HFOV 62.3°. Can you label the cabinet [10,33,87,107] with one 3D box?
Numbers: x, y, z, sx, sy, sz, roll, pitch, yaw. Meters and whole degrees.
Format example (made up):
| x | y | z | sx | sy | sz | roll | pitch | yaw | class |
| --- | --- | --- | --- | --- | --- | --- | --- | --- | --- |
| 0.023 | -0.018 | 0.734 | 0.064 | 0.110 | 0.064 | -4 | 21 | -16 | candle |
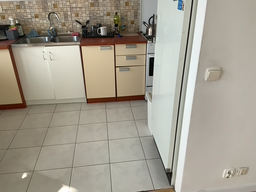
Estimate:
| x | y | z | sx | sy | sz | roll | pitch | yaw | class |
| --- | --- | --- | --- | --- | --- | --- | --- | --- | --- |
| -1.000 | -0.370 | 2.900 | 0.780 | 0.850 | 0.520 | -3 | 27 | -7 | cabinet |
